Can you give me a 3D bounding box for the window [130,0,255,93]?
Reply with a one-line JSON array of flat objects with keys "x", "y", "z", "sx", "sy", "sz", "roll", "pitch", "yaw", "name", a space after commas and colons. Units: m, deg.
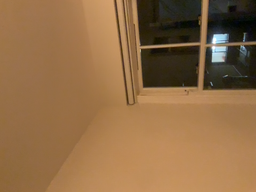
[{"x": 0.650, "y": -0.430, "z": 1.780, "sx": 0.110, "sy": 1.190, "sz": 0.850, "roll": -67, "pitch": -26, "yaw": -60, "name": "window"}]
